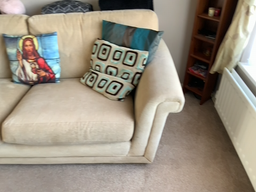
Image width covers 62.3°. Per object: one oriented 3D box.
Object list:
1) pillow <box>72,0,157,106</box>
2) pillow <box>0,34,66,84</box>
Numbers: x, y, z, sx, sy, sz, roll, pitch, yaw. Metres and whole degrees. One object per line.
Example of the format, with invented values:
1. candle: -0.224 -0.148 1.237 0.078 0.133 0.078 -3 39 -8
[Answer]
1. pillow: -0.130 -0.280 1.510 0.620 0.610 0.210 7 7 42
2. pillow: -0.740 -0.290 1.640 0.460 0.350 0.150 2 17 1
